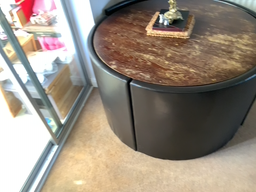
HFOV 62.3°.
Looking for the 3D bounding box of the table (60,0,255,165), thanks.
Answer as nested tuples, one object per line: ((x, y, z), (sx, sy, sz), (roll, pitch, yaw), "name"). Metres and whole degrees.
((0.400, -0.300, 1.870), (1.300, 0.760, 1.310), (7, 47, 14), "table")
